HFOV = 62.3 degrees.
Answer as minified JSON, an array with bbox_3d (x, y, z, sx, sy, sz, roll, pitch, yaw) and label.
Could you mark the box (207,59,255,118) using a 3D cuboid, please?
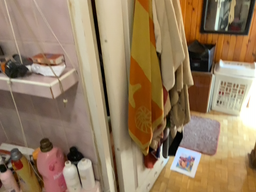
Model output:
[{"bbox_3d":[1.190,-0.090,2.480,0.400,0.560,0.310,9,33,21],"label":"box"}]
